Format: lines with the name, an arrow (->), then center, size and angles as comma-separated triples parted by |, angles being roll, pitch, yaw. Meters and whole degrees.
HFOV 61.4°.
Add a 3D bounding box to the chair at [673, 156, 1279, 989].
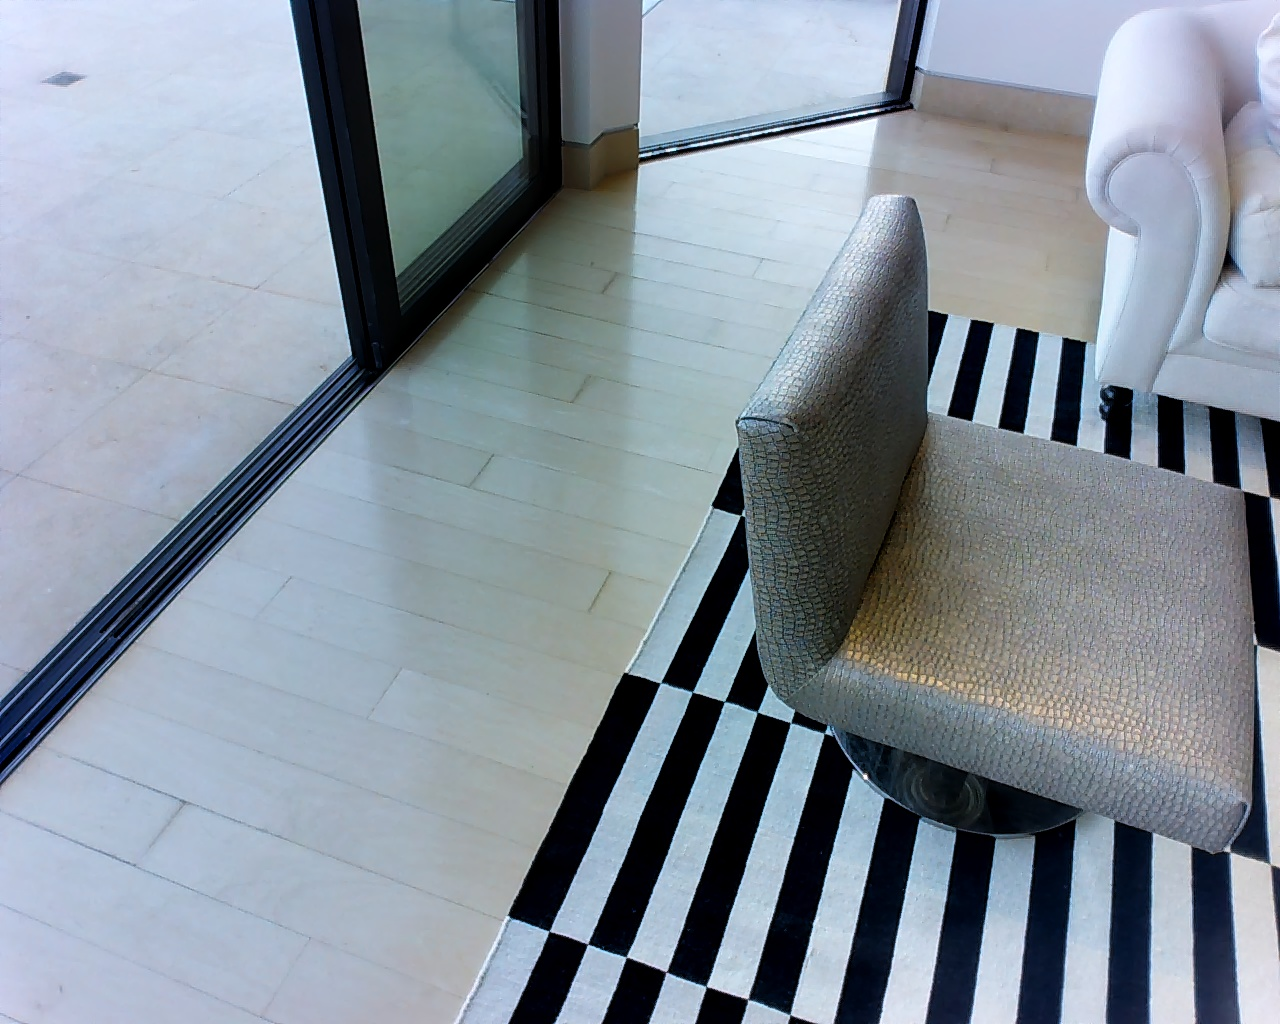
chair -> 0.590, 0.050, 1.690 | 0.820, 0.810, 0.770 | 16, 43, 16
